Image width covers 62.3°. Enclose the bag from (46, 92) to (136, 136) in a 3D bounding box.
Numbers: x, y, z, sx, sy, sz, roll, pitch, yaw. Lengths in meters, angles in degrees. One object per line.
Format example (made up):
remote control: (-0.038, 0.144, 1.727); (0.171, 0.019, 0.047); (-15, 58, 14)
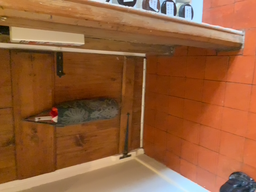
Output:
bag: (-0.240, 0.110, 1.540); (0.130, 0.640, 0.220); (15, 106, 53)
